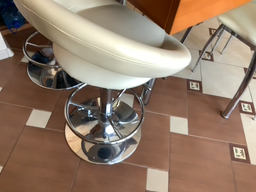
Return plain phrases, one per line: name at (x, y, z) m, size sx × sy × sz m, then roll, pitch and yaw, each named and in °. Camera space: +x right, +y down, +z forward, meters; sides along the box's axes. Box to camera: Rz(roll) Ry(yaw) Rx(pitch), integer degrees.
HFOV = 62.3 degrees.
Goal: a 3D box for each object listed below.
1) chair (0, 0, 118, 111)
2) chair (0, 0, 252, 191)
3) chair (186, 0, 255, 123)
chair at (-0.400, -0.430, 1.090) m, size 0.480 × 0.810 × 0.490 m, roll -35°, pitch 65°, yaw -29°
chair at (-0.080, -0.060, 0.850) m, size 0.480 × 0.830 × 0.530 m, roll -33°, pitch 64°, yaw -29°
chair at (0.800, -0.390, 1.140) m, size 0.380 × 0.970 × 0.540 m, roll -30°, pitch 62°, yaw -27°
